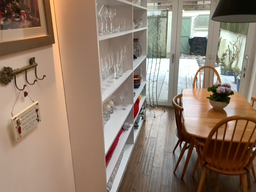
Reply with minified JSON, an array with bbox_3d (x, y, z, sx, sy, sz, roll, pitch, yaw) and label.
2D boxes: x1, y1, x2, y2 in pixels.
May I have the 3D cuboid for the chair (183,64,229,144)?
[{"bbox_3d":[1.020,0.090,2.900,0.440,0.960,0.480,3,20,11],"label":"chair"}]

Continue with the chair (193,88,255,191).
[{"bbox_3d":[0.870,0.470,1.840,0.460,0.960,0.480,3,20,10],"label":"chair"}]

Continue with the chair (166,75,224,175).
[{"bbox_3d":[0.700,0.300,2.340,0.480,0.960,0.440,4,21,14],"label":"chair"}]

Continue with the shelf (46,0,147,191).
[{"bbox_3d":[-0.080,-0.260,2.380,0.260,2.000,2.180,3,21,12],"label":"shelf"}]
